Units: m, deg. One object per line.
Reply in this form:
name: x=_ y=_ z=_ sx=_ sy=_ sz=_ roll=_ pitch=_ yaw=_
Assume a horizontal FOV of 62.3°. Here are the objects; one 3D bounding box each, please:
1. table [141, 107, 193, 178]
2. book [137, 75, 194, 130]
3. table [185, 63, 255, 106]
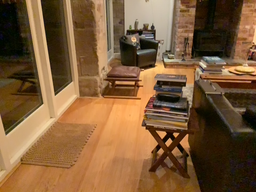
table: x=0.290 y=0.360 z=1.720 sx=0.350 sy=0.420 sz=0.360 roll=1 pitch=22 yaw=4
book: x=0.260 y=0.030 z=1.590 sx=0.360 sy=0.260 sz=0.390 roll=2 pitch=22 yaw=6
table: x=1.560 y=-0.190 z=3.070 sx=1.280 sy=0.400 sz=0.720 roll=2 pitch=22 yaw=5
